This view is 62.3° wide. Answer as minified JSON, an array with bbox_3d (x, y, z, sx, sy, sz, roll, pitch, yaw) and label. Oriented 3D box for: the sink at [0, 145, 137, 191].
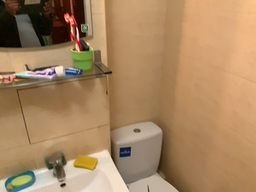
[{"bbox_3d":[-0.250,0.440,0.880,0.520,0.140,0.390,-10,27,-21],"label":"sink"}]
